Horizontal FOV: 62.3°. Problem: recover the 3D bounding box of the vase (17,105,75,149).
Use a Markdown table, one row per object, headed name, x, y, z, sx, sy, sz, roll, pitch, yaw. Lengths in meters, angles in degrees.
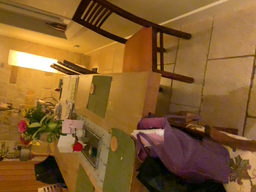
| name | x | y | z | sx | sy | sz | roll | pitch | yaw |
| --- | --- | --- | --- | --- | --- | --- | --- | --- | --- |
| vase | -0.880 | 0.320 | 2.240 | 0.480 | 0.470 | 0.320 | 15 | 95 | 62 |
